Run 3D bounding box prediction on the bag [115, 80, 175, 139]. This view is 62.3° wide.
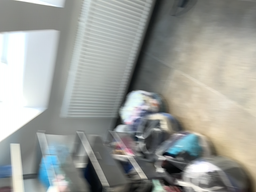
[{"bbox_3d":[0.140,0.120,1.980,0.370,0.310,0.390,45,123,49],"label":"bag"}]

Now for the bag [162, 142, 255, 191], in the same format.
[{"bbox_3d":[0.500,0.530,1.340,0.310,0.350,0.330,-56,44,38],"label":"bag"}]
